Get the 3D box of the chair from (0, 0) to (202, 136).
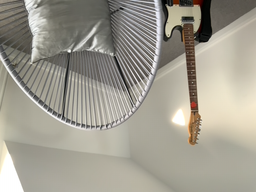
[{"bbox_3d":[-0.200,-0.360,1.020,0.730,0.810,0.800,-7,151,1],"label":"chair"}]
